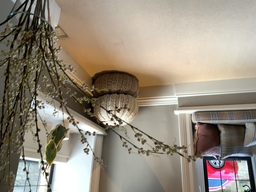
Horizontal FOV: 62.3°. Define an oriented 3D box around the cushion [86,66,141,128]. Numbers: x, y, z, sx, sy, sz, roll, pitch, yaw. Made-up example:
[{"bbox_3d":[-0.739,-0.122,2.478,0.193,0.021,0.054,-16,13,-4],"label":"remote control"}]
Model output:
[{"bbox_3d":[-0.120,0.040,2.250,0.400,0.480,0.530,-4,159,15],"label":"cushion"}]
